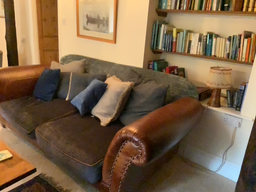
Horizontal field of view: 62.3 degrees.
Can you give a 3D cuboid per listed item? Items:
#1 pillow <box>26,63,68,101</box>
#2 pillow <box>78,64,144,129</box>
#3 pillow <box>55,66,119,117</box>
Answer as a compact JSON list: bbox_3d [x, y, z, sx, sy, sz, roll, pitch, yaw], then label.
[{"bbox_3d":[-0.940,-0.170,2.440,0.390,0.330,0.140,21,-10,36],"label":"pillow"},{"bbox_3d":[-0.170,0.000,2.110,0.420,0.490,0.280,22,-4,36],"label":"pillow"},{"bbox_3d":[-0.460,-0.080,2.290,0.630,0.420,0.210,15,-26,50],"label":"pillow"}]
